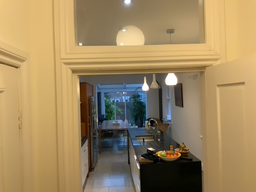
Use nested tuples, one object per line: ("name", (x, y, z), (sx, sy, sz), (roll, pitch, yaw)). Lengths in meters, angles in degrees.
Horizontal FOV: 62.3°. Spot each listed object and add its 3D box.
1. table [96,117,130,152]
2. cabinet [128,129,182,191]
("table", (-0.520, 1.300, 7.690), (1.050, 0.770, 2.270), (-2, 1, -3))
("cabinet", (0.370, 1.300, 4.090), (0.580, 0.860, 2.560), (-2, 1, -3))
